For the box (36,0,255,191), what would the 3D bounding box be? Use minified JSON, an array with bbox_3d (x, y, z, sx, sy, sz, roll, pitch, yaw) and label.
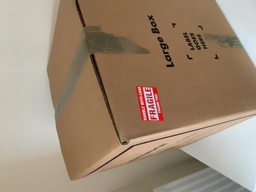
[{"bbox_3d":[0.050,-0.130,0.700,0.610,0.530,0.850,23,115,54],"label":"box"}]
